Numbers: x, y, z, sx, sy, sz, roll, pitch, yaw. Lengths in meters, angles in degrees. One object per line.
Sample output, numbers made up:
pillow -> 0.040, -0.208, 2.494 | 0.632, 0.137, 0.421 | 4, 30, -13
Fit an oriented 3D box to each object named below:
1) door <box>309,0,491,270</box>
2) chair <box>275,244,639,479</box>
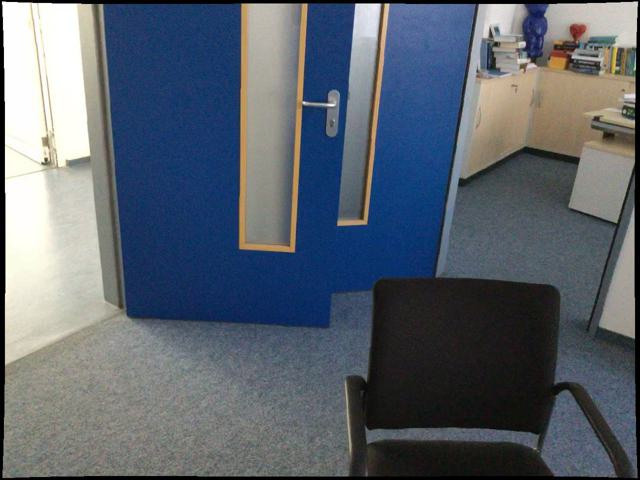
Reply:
door -> 0.380, -0.761, 2.630 | 0.679, 1.882, 0.150 | -4, 26, -22
chair -> 0.310, 0.581, 1.190 | 0.739, 0.761, 0.920 | 5, 26, 3
